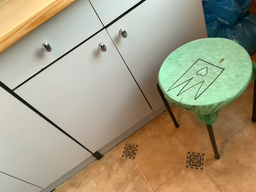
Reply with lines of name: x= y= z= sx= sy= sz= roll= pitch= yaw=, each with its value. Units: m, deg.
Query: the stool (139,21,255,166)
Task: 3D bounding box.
stool: x=0.340 y=0.010 z=0.940 sx=0.330 sy=0.460 sz=0.330 roll=-34 pitch=48 yaw=0
